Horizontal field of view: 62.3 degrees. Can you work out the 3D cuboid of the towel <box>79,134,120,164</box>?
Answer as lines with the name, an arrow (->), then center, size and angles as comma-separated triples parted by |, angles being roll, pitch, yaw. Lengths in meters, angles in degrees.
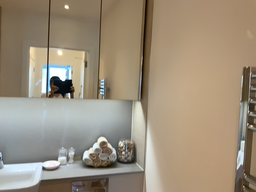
towel -> -0.230, 0.410, 1.670 | 0.280, 0.170, 0.180 | 2, 3, -22

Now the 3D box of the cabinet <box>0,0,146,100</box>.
cabinet -> -0.550, -0.540, 1.500 | 1.370, 1.090, 0.210 | 2, 3, -20
